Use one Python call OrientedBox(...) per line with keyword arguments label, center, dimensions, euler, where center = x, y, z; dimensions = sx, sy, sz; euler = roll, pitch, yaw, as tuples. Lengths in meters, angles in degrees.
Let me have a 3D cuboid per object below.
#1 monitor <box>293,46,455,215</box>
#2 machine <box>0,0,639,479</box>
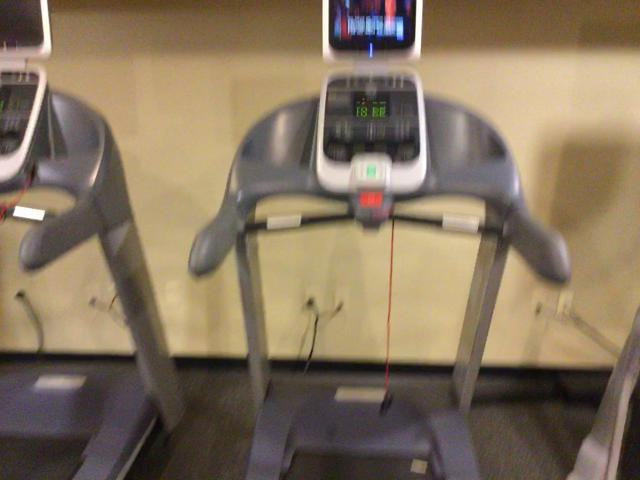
OrientedBox(label="monitor", center=(0.160, -0.330, 1.770), dimensions=(0.320, 0.390, 0.090), euler=(32, 18, -4))
OrientedBox(label="machine", center=(0.090, 0.160, 1.260), dimensions=(0.970, 1.810, 2.130), euler=(-3, 23, 8))
